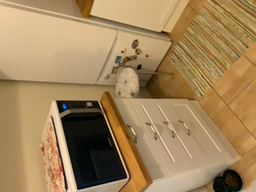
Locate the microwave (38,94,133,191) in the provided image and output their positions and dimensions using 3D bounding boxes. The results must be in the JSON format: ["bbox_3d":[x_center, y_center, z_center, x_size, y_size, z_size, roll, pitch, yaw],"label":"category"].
[{"bbox_3d":[-0.290,0.330,1.220,0.410,0.300,0.540,-60,44,35],"label":"microwave"}]

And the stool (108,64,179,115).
[{"bbox_3d":[0.140,-0.050,2.040,0.330,0.500,0.320,-58,45,37],"label":"stool"}]

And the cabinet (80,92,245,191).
[{"bbox_3d":[0.230,0.360,1.530,0.460,0.910,0.600,-58,45,37],"label":"cabinet"}]
